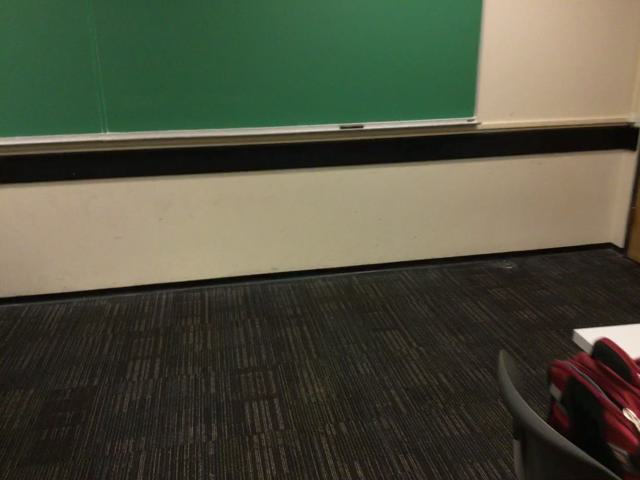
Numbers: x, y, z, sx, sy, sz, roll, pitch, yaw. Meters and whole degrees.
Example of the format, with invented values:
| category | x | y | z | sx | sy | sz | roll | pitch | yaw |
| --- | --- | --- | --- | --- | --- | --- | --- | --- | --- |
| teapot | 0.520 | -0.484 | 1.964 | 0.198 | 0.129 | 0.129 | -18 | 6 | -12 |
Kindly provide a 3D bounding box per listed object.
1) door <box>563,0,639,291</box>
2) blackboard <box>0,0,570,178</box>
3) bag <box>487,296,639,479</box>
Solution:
| category | x | y | z | sx | sy | sz | roll | pitch | yaw |
| --- | --- | --- | --- | --- | --- | --- | --- | --- | --- |
| door | 1.830 | -0.870 | 3.000 | 0.200 | 2.280 | 0.990 | 0 | 11 | -16 |
| blackboard | -0.850 | -1.090 | 2.910 | 4.350 | 1.480 | 0.380 | -3 | 12 | -9 |
| bag | 0.510 | 0.320 | 0.990 | 0.290 | 0.330 | 0.410 | -2 | 12 | -4 |
